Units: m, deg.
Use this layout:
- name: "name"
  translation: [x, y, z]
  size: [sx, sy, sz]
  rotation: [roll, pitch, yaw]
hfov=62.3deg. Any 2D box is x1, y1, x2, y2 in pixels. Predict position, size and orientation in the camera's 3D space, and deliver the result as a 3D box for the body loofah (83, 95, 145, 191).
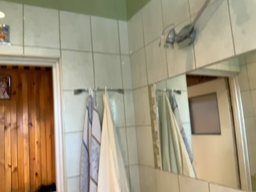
- name: "body loofah"
  translation: [-0.070, 0.560, 1.230]
  size: [0.290, 1.120, 0.180]
  rotation: [-1, -8, -26]
